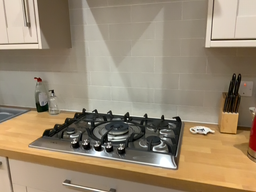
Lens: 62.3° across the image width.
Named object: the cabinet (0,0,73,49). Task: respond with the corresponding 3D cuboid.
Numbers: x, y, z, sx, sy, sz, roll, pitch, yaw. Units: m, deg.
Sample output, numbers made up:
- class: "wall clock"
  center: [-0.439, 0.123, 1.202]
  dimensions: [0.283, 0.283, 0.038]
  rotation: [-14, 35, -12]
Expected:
- class: "cabinet"
  center: [-0.590, -0.680, 1.240]
  dimensions: [0.350, 0.780, 0.310]
  rotation: [3, 14, 17]
